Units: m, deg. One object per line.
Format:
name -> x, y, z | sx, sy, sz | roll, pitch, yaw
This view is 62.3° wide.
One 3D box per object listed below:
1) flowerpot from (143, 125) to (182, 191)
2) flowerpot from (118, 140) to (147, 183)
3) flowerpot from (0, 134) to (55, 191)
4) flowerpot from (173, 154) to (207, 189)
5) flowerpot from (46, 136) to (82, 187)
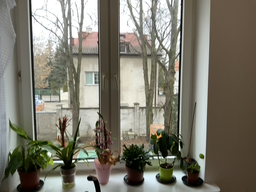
flowerpot -> 0.280, 0.540, 1.820 | 0.240, 0.510, 0.320 | 0, 6, -6
flowerpot -> 0.030, 0.530, 1.760 | 0.220, 0.260, 0.250 | 0, 6, -2
flowerpot -> -0.770, 0.540, 1.670 | 0.300, 0.400, 0.310 | 0, 6, -6
flowerpot -> 0.510, 0.620, 1.770 | 0.210, 0.200, 0.220 | 0, 6, -2
flowerpot -> -0.500, 0.510, 1.690 | 0.220, 0.330, 0.210 | 0, 6, -2
